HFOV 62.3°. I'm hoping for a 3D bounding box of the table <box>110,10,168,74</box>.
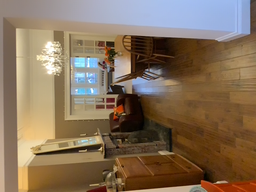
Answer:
[{"bbox_3d":[0.120,-1.040,4.720,2.020,0.760,1.000,-162,72,-77],"label":"table"}]
